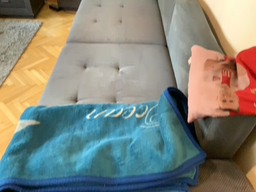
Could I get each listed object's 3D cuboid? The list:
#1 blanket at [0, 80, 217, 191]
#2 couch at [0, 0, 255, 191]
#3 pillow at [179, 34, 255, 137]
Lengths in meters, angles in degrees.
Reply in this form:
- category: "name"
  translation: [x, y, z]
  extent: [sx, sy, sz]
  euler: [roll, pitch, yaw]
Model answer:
- category: "blanket"
  translation: [-0.120, 0.170, 0.890]
  extent: [0.780, 0.200, 0.480]
  euler: [0, 45, -3]
- category: "couch"
  translation: [-0.010, -0.400, 1.660]
  extent: [1.030, 0.750, 2.540]
  euler: [1, 45, -2]
- category: "pillow"
  translation: [0.400, -0.050, 0.840]
  extent: [0.300, 0.220, 0.350]
  euler: [2, 45, -1]
